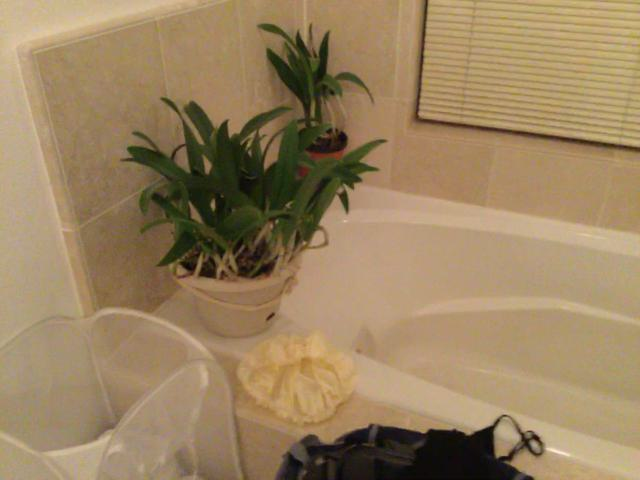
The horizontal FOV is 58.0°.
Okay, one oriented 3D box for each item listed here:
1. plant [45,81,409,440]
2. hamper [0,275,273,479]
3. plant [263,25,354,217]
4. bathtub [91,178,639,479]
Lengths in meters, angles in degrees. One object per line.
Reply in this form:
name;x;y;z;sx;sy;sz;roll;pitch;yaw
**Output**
plant;-0.120;-0.010;1.130;0.460;0.460;0.470;10;32;22
hamper;-0.350;0.490;1.110;0.360;0.690;0.390;10;32;22
plant;-0.020;-0.350;1.700;0.160;0.500;0.220;10;32;22
bathtub;0.620;0.400;1.350;1.850;0.530;1.090;9;31;24
